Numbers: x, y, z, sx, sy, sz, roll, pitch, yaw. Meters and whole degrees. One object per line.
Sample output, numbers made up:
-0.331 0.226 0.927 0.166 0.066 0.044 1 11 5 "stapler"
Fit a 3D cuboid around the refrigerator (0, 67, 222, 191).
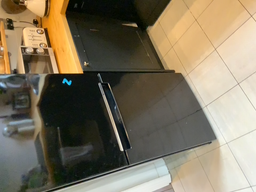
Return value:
-0.350 0.280 1.350 0.700 1.840 0.610 -49 55 46 "refrigerator"
